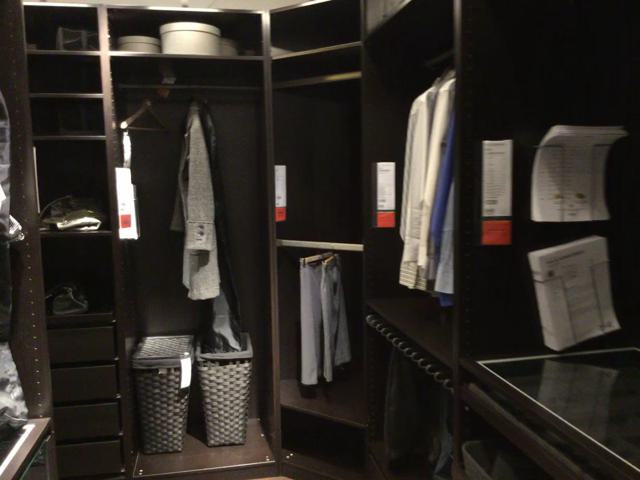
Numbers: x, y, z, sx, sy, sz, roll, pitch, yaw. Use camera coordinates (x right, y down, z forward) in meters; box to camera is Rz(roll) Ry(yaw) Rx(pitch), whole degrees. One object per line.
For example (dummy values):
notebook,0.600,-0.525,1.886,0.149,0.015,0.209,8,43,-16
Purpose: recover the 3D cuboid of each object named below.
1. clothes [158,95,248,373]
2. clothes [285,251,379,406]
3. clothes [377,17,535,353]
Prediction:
clothes,-0.600,-0.040,3.020,0.380,1.340,0.430,-2,5,-10
clothes,0.050,0.430,2.980,0.420,0.690,0.440,-2,5,-6
clothes,0.440,-0.180,2.030,0.300,0.980,0.630,-2,5,-10
